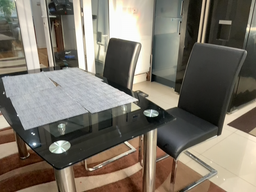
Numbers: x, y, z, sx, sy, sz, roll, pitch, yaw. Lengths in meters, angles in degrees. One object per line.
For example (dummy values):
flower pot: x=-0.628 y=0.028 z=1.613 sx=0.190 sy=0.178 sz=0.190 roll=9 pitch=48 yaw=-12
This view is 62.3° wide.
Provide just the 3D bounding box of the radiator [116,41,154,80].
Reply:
radiator: x=0.130 y=-0.620 z=3.590 sx=0.660 sy=0.530 sz=0.200 roll=-17 pitch=28 yaw=-37

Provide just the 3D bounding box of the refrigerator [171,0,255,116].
refrigerator: x=1.250 y=-0.800 z=2.830 sx=0.750 sy=1.760 sz=0.930 roll=-17 pitch=28 yaw=-37

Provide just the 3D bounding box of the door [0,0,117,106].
door: x=-1.170 y=-1.000 z=2.530 sx=2.400 sy=2.110 sz=0.130 roll=-16 pitch=28 yaw=-35
